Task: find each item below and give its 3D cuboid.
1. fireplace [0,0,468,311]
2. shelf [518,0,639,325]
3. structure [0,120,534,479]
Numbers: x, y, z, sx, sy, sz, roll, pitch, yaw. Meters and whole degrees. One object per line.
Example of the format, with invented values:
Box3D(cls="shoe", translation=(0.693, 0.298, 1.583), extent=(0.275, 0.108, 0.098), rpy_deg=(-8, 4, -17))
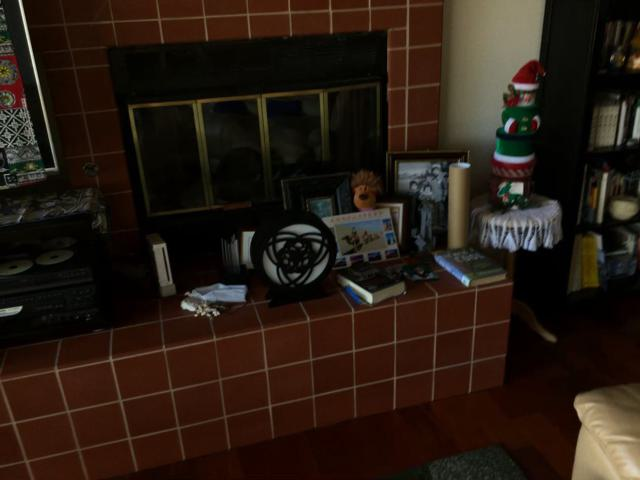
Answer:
Box3D(cls="fireplace", translation=(-0.530, -0.640, 2.350), extent=(2.100, 1.330, 0.680), rpy_deg=(-12, 20, -14))
Box3D(cls="shelf", translation=(1.410, -0.620, 2.530), extent=(0.960, 1.770, 0.420), rpy_deg=(-12, 20, -14))
Box3D(cls="structure", translation=(-1.440, 0.470, 1.850), extent=(4.410, 0.940, 0.750), rpy_deg=(-12, 20, -14))
